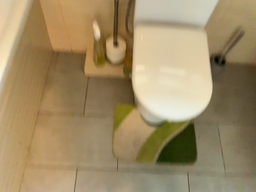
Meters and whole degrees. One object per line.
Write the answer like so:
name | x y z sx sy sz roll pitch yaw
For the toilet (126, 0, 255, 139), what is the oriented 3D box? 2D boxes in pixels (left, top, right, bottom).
toilet | 0.210 -0.180 1.040 0.370 0.770 0.580 4 64 -3
